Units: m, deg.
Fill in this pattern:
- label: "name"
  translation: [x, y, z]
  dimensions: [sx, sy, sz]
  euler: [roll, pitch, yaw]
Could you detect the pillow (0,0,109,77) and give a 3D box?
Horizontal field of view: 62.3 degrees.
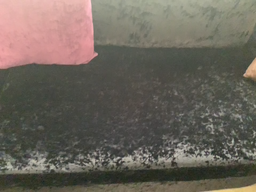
- label: "pillow"
  translation: [-0.360, -0.320, 0.710]
  dimensions: [0.550, 0.470, 0.160]
  euler: [4, 44, -18]
